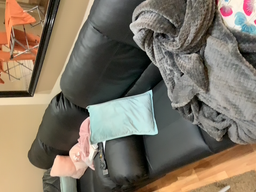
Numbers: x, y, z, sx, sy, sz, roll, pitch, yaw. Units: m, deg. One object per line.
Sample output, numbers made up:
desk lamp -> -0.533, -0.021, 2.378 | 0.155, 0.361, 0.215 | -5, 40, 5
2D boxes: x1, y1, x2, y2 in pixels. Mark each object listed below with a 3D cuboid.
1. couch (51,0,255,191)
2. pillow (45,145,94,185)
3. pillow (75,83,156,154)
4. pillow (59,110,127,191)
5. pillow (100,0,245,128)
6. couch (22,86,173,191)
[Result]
couch -> 0.270, -0.120, 1.200 | 1.510, 0.900, 0.880 | -48, 52, 43
pillow -> -0.650, 0.750, 2.320 | 0.320, 0.400, 0.260 | -49, 52, 43
pillow -> -0.080, 0.160, 1.490 | 0.440, 0.210, 0.310 | -26, 78, 6
pillow -> -0.360, 0.530, 1.920 | 0.660, 0.260, 0.530 | -48, 53, 43
pillow -> 0.180, -0.170, 0.960 | 0.450, 0.250, 0.430 | -32, 61, 16
couch -> -0.480, 0.690, 2.240 | 1.500, 0.900, 0.850 | -48, 52, 43
